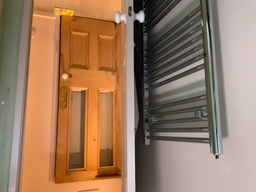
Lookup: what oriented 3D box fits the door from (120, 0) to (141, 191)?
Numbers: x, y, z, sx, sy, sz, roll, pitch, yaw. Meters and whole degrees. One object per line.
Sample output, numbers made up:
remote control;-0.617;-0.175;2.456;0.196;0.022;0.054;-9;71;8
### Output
door;0.000;-0.290;1.500;0.080;1.780;1.080;0;171;-1
